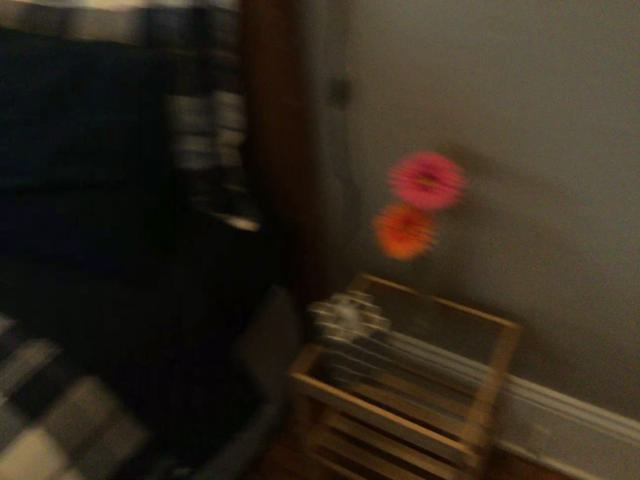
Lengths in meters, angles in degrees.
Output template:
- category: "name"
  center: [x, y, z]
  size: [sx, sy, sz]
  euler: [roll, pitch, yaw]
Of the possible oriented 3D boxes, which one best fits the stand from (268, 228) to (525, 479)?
- category: "stand"
  center: [0.180, 0.330, 1.320]
  size: [0.390, 0.490, 0.420]
  euler: [16, 41, 23]
